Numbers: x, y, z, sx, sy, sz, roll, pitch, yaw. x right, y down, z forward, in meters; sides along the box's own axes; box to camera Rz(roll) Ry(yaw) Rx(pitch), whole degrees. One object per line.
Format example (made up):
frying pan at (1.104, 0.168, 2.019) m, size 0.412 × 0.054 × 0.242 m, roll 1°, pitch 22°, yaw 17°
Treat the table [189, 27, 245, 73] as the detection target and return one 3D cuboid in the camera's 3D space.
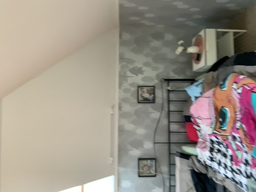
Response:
table at (1.160, -0.590, 2.820) m, size 0.460 × 0.530 × 0.480 m, roll 134°, pitch 136°, yaw -85°
